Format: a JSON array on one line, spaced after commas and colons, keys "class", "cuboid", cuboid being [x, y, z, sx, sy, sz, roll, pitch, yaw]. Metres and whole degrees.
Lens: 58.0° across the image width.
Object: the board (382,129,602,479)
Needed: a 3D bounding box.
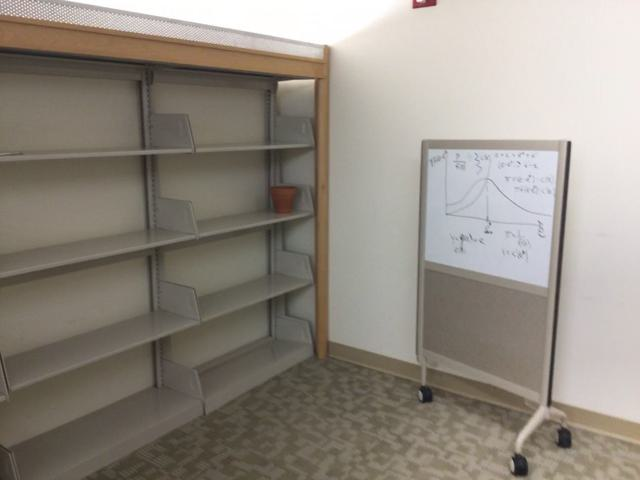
[{"class": "board", "cuboid": [0.710, 0.200, 2.580, 0.410, 1.350, 0.790, -8, 12, -38]}]
